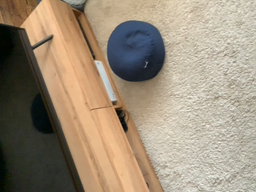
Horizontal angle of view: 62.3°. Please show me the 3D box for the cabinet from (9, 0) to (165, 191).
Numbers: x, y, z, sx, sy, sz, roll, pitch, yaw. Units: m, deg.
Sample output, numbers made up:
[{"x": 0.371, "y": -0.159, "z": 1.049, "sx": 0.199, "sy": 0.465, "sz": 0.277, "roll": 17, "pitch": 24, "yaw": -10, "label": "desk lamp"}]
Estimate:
[{"x": -0.240, "y": 0.090, "z": 1.240, "sx": 0.370, "sy": 0.320, "sz": 1.490, "roll": -29, "pitch": 78, "yaw": 29, "label": "cabinet"}]

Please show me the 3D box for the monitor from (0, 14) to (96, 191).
[{"x": -0.540, "y": 0.070, "z": 0.860, "sx": 0.080, "sy": 0.630, "sz": 1.040, "roll": -31, "pitch": 77, "yaw": 28, "label": "monitor"}]
